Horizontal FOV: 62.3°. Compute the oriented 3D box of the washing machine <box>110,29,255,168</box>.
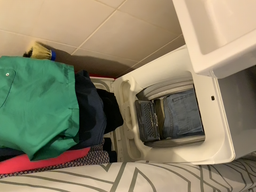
[{"bbox_3d":[0.400,0.070,1.070,0.460,0.830,0.420,-19,73,44],"label":"washing machine"}]

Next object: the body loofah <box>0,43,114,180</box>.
[{"bbox_3d":[-0.430,-0.020,0.680,0.600,0.450,0.290,18,99,46],"label":"body loofah"}]
